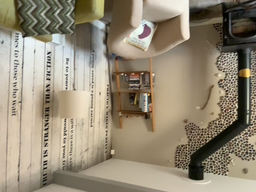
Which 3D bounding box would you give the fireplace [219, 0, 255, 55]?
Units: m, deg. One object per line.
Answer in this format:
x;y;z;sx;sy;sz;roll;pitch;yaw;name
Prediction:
1.450;-0.880;2.740;0.480;0.560;0.520;1;178;25;fireplace
